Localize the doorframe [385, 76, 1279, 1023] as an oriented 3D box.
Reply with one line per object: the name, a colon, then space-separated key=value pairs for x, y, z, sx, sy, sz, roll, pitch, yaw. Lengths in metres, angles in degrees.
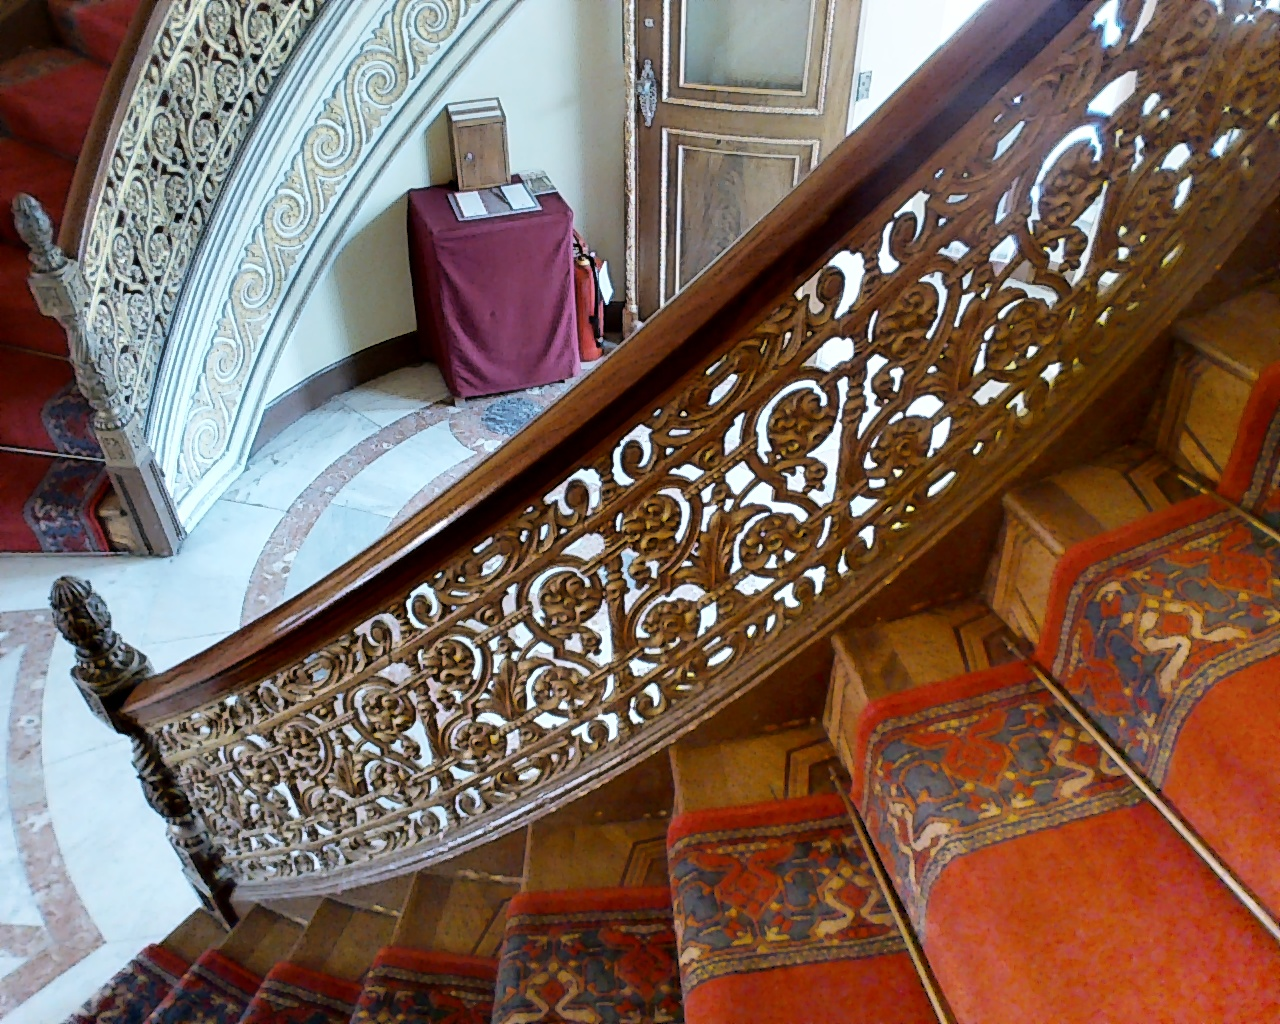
doorframe: x=0.650 y=0.810 z=1.660 sx=1.650 sy=2.580 sz=0.440 roll=13 pitch=43 yaw=14
